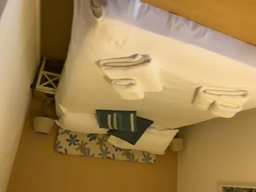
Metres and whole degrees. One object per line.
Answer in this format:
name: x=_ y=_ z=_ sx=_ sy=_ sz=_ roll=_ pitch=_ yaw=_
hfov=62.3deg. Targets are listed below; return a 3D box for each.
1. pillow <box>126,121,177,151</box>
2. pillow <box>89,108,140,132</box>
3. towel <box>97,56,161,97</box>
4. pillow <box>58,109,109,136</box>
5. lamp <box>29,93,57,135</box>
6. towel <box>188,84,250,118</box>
pillow: x=0.300 y=0.550 z=2.800 sx=0.510 sy=0.260 sz=0.430 roll=13 pitch=158 yaw=-19
pillow: x=-0.140 y=0.270 z=2.320 sx=0.520 sy=0.150 sz=0.270 roll=5 pitch=159 yaw=1
towel: x=0.030 y=-0.110 z=1.340 sx=0.340 sy=0.090 sz=0.380 roll=1 pitch=158 yaw=11
pillow: x=-0.540 y=0.330 z=2.530 sx=0.500 sy=0.150 sz=0.460 roll=13 pitch=158 yaw=-18
lamp: x=-1.050 y=0.230 z=2.630 sx=0.220 sy=0.450 sz=0.210 roll=12 pitch=158 yaw=-17
towel: x=0.650 y=0.050 z=1.600 sx=0.330 sy=0.090 sz=0.440 roll=2 pitch=159 yaw=10
